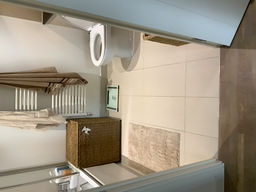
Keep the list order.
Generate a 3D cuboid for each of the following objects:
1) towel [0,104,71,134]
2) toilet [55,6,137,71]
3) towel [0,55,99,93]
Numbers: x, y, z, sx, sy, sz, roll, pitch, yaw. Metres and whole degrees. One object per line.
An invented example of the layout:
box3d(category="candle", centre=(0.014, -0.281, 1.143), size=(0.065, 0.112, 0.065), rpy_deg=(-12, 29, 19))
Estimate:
box3d(category="towel", centre=(-1.110, 0.240, 2.380), size=(0.150, 0.900, 0.290), rpy_deg=(1, 90, 56))
box3d(category="toilet", centre=(-0.350, -0.590, 2.400), size=(0.390, 0.830, 0.520), rpy_deg=(1, 90, 56))
box3d(category="towel", centre=(-0.970, -0.230, 2.470), size=(0.200, 1.290, 0.360), rpy_deg=(-5, 85, 56))
